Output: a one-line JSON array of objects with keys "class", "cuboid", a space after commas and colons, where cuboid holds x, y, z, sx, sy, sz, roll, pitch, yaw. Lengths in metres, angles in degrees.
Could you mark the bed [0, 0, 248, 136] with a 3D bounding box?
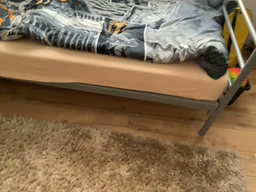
[{"class": "bed", "cuboid": [-0.480, -0.430, 1.520, 2.170, 0.530, 0.990, 8, 50, 0]}]
